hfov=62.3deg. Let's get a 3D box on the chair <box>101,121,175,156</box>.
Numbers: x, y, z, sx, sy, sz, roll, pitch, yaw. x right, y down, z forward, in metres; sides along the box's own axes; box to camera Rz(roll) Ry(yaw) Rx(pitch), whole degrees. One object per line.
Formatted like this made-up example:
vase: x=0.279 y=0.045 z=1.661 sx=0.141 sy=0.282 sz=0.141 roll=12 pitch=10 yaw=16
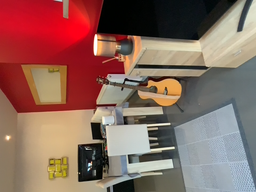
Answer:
chair: x=0.120 y=0.600 z=3.010 sx=0.500 sy=0.890 sz=0.380 roll=143 pitch=123 yaw=-68
